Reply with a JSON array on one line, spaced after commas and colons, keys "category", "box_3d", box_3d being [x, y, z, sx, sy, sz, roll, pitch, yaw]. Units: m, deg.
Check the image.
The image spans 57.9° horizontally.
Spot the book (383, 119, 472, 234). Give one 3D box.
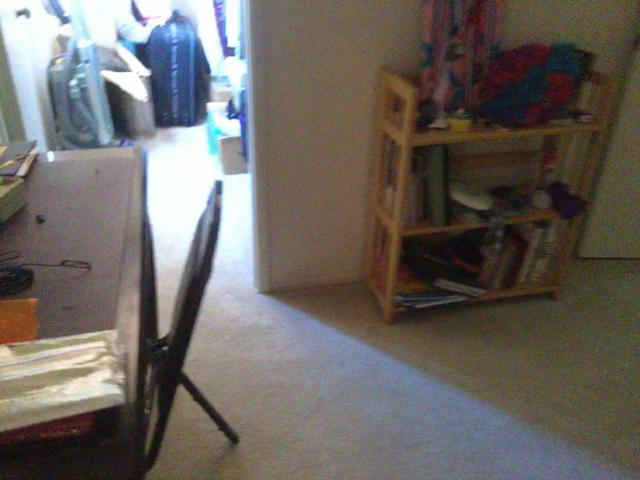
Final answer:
[{"category": "book", "box_3d": [0.340, -0.210, 1.880, 0.200, 0.300, 0.190, -9, 30, -14]}]

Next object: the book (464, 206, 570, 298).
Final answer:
[{"category": "book", "box_3d": [0.710, 0.040, 2.110, 0.290, 0.240, 0.170, -9, 30, -14]}]

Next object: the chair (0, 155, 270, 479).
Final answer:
[{"category": "chair", "box_3d": [-0.420, 0.270, 1.120, 0.550, 0.690, 0.450, -9, 30, -14]}]

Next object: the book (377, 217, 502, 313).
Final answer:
[{"category": "book", "box_3d": [0.420, 0.080, 2.100, 0.320, 0.160, 0.320, -9, 30, -14]}]
